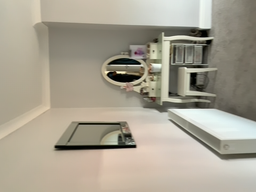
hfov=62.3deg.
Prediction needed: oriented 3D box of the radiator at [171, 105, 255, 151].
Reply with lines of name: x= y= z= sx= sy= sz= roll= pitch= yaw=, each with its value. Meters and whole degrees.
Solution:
radiator: x=0.910 y=0.220 z=1.900 sx=1.240 sy=0.680 sz=0.120 roll=-144 pitch=55 yaw=-82
